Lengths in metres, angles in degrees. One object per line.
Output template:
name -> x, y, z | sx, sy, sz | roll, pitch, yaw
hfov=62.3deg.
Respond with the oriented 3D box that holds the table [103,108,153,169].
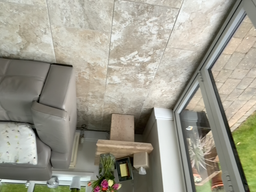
table -> -0.020, 0.550, 2.680 | 0.500, 0.550, 0.510 | 6, 143, -9
